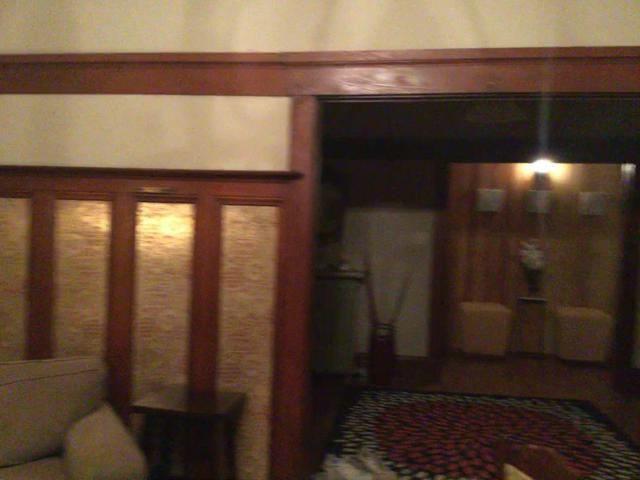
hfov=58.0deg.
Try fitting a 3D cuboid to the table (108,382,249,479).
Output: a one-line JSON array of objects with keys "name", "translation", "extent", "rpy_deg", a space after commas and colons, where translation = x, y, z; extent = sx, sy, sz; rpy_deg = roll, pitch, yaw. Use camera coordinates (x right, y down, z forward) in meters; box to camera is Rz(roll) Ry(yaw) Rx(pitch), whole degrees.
[{"name": "table", "translation": [-0.620, 1.010, 2.590], "extent": [0.530, 0.650, 0.320], "rpy_deg": [1, 1, 5]}]
